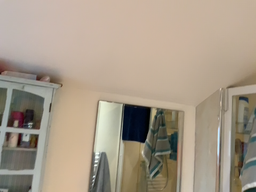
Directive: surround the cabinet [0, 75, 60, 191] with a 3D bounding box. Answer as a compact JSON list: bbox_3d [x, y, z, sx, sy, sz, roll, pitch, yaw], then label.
[{"bbox_3d":[-0.550,0.240,0.910,0.400,0.640,0.150,9,-8,-25],"label":"cabinet"}]
